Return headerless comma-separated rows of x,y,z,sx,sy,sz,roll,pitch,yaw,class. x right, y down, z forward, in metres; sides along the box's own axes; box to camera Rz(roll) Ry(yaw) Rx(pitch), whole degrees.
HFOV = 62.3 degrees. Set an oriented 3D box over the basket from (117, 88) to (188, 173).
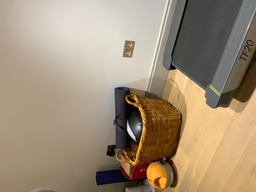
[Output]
0.190,0.310,2.040,0.490,0.380,0.600,-121,37,-52,basket
